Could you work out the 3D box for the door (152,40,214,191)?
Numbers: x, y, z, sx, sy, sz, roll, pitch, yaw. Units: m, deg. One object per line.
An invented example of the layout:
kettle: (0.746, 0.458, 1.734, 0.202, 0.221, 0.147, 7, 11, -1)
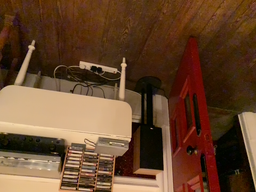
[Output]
door: (0.350, 0.750, 1.530, 0.160, 2.210, 0.930, 4, 150, -2)
